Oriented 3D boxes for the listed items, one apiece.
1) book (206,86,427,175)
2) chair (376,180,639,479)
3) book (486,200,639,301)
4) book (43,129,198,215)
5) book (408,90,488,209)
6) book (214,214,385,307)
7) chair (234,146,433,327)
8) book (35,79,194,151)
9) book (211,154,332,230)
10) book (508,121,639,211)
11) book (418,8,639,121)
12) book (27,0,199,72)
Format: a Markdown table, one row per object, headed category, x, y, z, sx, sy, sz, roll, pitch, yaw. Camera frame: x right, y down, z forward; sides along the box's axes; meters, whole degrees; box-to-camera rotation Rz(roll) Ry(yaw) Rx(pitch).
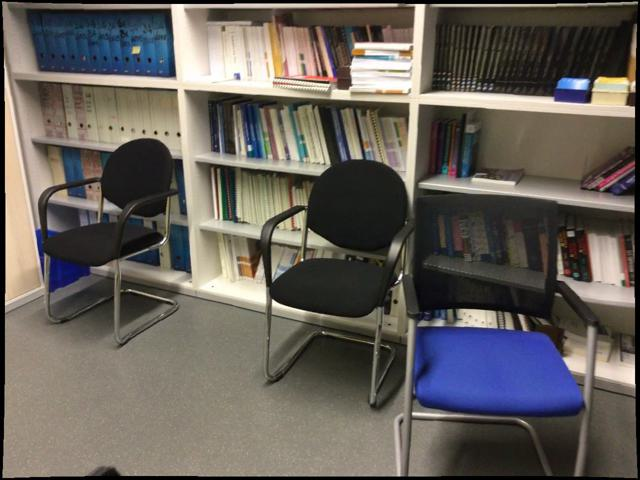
| category | x | y | z | sx | sy | sz | roll | pitch | yaw |
| --- | --- | --- | --- | --- | --- | --- | --- | --- | --- |
| book | -0.040 | -0.581 | 2.940 | 1.099 | 0.330 | 0.270 | 10 | 22 | 25 |
| chair | 0.529 | 0.330 | 1.910 | 0.619 | 0.881 | 0.710 | 3 | 20 | 9 |
| book | 1.159 | 0.040 | 2.500 | 0.779 | 0.260 | 0.310 | 10 | 22 | 25 |
| book | -1.169 | -0.410 | 3.350 | 0.999 | 0.370 | 0.140 | 10 | 22 | 25 |
| book | 0.579 | -0.420 | 2.590 | 0.220 | 0.440 | 0.420 | 10 | 22 | 25 |
| book | -0.120 | 0.090 | 3.150 | 0.899 | 0.290 | 0.260 | 10 | 22 | 25 |
| chair | 0.090 | -0.070 | 2.460 | 0.560 | 0.490 | 0.740 | 10 | 22 | 25 |
| book | -1.169 | -0.711 | 3.240 | 1.039 | 0.320 | 0.100 | 10 | 22 | 25 |
| book | -0.260 | -0.270 | 3.120 | 0.600 | 0.290 | 0.240 | 10 | 22 | 25 |
| book | 1.179 | -0.300 | 2.320 | 0.739 | 0.250 | 0.360 | 10 | 22 | 25 |
| book | 1.049 | -0.691 | 2.240 | 1.229 | 0.370 | 0.430 | 10 | 22 | 25 |
| book | -1.169 | -1.151 | 3.260 | 0.939 | 0.340 | 0.310 | 10 | 22 | 25 |
